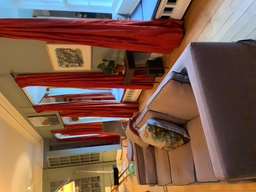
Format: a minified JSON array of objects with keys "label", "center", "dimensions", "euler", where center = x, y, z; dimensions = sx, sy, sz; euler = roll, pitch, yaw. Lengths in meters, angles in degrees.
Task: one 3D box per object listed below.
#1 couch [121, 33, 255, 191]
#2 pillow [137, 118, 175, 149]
[{"label":"couch","center":[0.540,0.560,2.780],"dimensions":[2.790,0.740,1.150],"euler":[115,150,-65]},{"label":"pillow","center":[0.380,0.500,2.720],"dimensions":[0.750,0.400,0.200],"euler":[60,-158,-66]}]
